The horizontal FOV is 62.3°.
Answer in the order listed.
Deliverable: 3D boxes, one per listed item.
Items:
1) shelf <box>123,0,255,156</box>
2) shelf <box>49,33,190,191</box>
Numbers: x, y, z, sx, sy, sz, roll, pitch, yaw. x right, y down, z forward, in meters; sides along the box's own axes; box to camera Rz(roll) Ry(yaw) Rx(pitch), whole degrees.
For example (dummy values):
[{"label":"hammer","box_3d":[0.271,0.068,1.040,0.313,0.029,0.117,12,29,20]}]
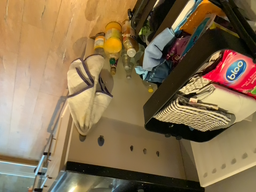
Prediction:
[{"label":"shelf","box_3d":[0.280,-0.270,0.910,0.400,0.830,0.540,16,138,-21]},{"label":"shelf","box_3d":[-0.040,0.080,1.240,0.610,0.910,0.190,16,138,-21]}]
